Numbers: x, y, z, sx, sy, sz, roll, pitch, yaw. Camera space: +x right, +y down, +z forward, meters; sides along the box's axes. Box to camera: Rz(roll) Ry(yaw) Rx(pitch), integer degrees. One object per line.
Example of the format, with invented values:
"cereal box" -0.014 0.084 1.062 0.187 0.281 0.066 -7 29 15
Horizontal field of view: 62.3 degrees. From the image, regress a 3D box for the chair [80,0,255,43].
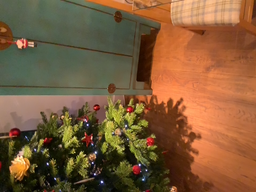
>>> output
"chair" 0.340 -0.610 1.200 0.590 1.000 0.430 14 101 49
